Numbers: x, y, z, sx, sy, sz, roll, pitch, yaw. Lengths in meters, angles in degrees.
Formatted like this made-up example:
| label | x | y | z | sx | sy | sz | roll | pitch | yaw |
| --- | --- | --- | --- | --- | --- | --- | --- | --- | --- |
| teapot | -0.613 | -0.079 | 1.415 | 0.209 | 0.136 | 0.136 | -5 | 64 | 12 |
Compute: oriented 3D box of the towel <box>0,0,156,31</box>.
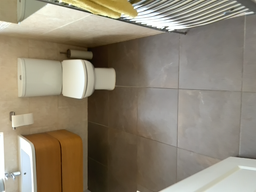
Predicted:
| label | x | y | z | sx | sy | sz | roll | pitch | yaw |
| --- | --- | --- | --- | --- | --- | --- | --- | --- | --- |
| towel | -0.160 | -0.370 | 0.750 | 0.270 | 0.480 | 0.140 | 3 | 94 | 48 |

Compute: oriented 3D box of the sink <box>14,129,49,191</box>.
| label | x | y | z | sx | sy | sz | roll | pitch | yaw |
| --- | --- | --- | --- | --- | --- | --- | --- | --- | --- |
| sink | -0.950 | 0.750 | 2.070 | 0.450 | 0.170 | 0.760 | 7 | 97 | 47 |

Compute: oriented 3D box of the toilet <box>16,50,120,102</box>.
| label | x | y | z | sx | sy | sz | roll | pitch | yaw |
| --- | --- | --- | --- | --- | --- | --- | --- | --- | --- |
| toilet | -0.600 | -0.190 | 2.130 | 0.680 | 0.780 | 0.400 | 7 | 97 | 47 |
